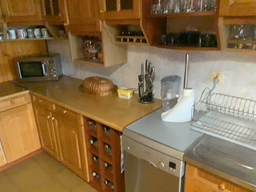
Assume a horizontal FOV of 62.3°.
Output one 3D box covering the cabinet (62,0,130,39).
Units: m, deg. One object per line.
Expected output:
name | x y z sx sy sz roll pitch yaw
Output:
cabinet | -0.290 -0.920 1.800 0.520 0.790 0.330 17 28 40

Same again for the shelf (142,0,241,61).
shelf | 0.370 -0.690 1.260 0.520 0.860 0.270 17 28 40

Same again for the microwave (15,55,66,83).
microwave | -1.080 -0.350 2.670 0.450 0.270 0.360 -1 21 1
